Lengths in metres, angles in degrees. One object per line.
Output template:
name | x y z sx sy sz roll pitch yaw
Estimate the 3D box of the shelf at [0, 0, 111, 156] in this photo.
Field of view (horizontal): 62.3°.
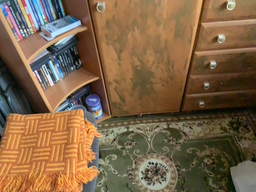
shelf | -0.440 -0.200 1.180 0.560 1.110 0.580 -4 50 1
